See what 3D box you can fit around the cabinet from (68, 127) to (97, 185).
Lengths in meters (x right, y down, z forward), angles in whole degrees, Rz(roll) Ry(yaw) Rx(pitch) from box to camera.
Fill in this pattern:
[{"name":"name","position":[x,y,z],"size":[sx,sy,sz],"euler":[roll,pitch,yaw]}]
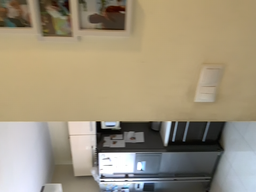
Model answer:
[{"name":"cabinet","position":[-0.730,1.010,3.540],"size":[0.340,0.400,0.970],"euler":[-99,11,-61]}]
